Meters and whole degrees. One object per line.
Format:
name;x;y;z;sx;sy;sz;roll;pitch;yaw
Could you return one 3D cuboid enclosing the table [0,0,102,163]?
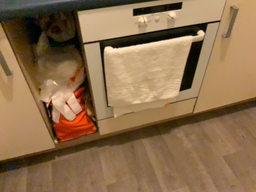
table;-0.370;-0.150;1.190;0.240;0.940;0.590;-13;45;-12
